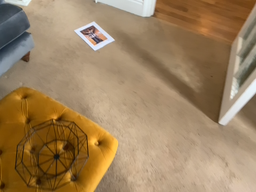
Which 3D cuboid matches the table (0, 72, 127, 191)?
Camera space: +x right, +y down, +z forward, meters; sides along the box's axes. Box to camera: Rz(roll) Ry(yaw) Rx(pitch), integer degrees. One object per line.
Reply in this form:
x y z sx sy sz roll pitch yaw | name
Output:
-0.510 0.420 0.950 0.670 0.360 0.840 26 58 13 | table
